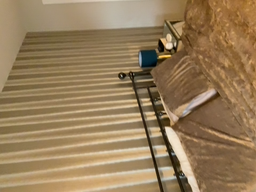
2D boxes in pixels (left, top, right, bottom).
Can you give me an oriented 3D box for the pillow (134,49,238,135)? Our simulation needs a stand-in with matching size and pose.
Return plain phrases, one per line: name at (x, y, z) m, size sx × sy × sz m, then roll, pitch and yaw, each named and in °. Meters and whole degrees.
pillow at (0.430, -0.070, 1.680) m, size 0.640 × 0.430 × 0.220 m, roll 34°, pitch 143°, yaw 29°
